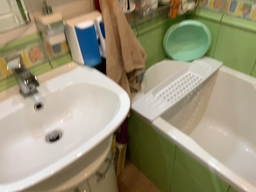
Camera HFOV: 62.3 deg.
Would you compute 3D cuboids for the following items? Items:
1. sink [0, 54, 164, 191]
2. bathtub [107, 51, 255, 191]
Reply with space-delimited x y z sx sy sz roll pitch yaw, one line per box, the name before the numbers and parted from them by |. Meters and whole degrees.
sink | -0.240 0.110 0.790 0.620 0.190 0.420 -31 46 -29
bathtub | 0.610 0.360 1.120 0.680 0.550 1.420 -30 46 -28
